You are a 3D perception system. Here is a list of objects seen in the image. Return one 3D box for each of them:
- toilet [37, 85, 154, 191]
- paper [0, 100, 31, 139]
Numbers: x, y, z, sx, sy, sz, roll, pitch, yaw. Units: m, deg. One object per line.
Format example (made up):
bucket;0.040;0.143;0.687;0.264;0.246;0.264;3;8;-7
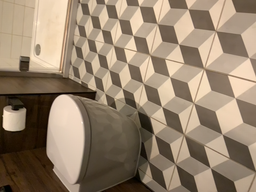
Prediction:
toilet;-0.190;0.220;1.200;0.380;0.450;0.470;25;109;41
paper;-0.620;0.120;1.150;0.170;0.110;0.140;28;111;40
